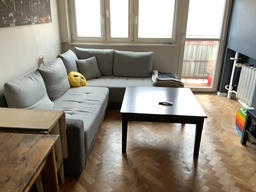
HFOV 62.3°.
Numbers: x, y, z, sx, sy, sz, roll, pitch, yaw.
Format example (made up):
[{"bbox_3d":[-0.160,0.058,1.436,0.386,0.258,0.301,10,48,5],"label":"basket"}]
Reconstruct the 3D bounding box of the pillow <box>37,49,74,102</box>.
[{"bbox_3d":[-1.000,-0.310,3.030,0.220,0.450,0.670,0,39,2],"label":"pillow"}]

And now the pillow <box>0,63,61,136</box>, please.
[{"bbox_3d":[-1.070,0.020,2.390,0.310,0.530,0.620,3,39,6],"label":"pillow"}]
